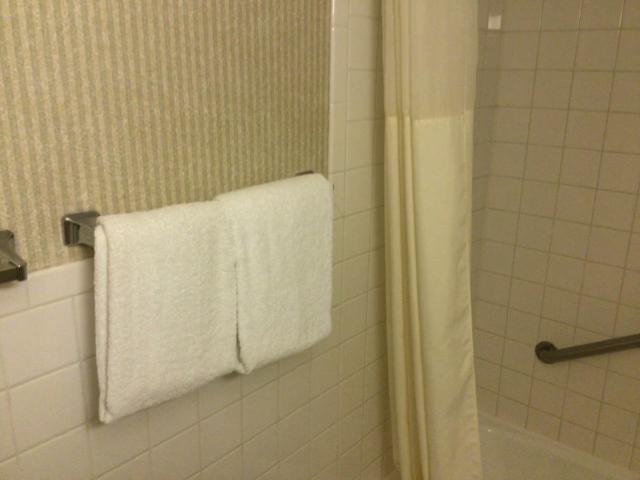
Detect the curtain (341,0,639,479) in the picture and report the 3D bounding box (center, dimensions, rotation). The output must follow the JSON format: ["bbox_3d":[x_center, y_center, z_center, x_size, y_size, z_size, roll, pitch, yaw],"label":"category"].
[{"bbox_3d":[0.360,0.130,1.370,0.450,1.860,0.410,14,23,39],"label":"curtain"}]

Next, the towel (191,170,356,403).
[{"bbox_3d":[-0.070,0.070,1.100,0.110,0.350,0.310,14,23,39],"label":"towel"}]

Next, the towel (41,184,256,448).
[{"bbox_3d":[-0.250,0.100,0.910,0.120,0.320,0.270,14,23,39],"label":"towel"}]
